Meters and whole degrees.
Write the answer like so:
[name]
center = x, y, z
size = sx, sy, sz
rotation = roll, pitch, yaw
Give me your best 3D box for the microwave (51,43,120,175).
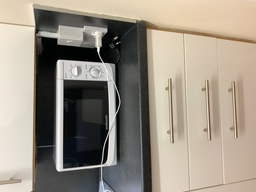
[microwave]
center = -0.220, 0.050, 1.010
size = 0.340, 0.260, 0.500
rotation = 178, 92, -68
